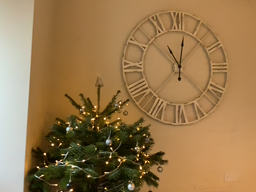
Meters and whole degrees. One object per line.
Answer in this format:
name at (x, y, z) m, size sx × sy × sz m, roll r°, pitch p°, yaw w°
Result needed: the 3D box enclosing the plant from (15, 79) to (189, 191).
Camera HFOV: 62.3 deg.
plant at (-0.210, 0.590, 1.620) m, size 0.980 × 1.280 × 0.900 m, roll 2°, pitch -3°, yaw -14°
